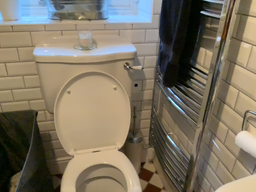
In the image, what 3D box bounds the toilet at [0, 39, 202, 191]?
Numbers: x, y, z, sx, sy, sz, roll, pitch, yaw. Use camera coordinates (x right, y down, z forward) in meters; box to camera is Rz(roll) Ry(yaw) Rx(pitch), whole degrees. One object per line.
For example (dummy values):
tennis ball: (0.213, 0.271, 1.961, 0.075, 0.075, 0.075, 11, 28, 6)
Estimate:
toilet: (-0.150, 0.280, 1.060, 0.530, 0.940, 0.710, -4, 29, -13)
